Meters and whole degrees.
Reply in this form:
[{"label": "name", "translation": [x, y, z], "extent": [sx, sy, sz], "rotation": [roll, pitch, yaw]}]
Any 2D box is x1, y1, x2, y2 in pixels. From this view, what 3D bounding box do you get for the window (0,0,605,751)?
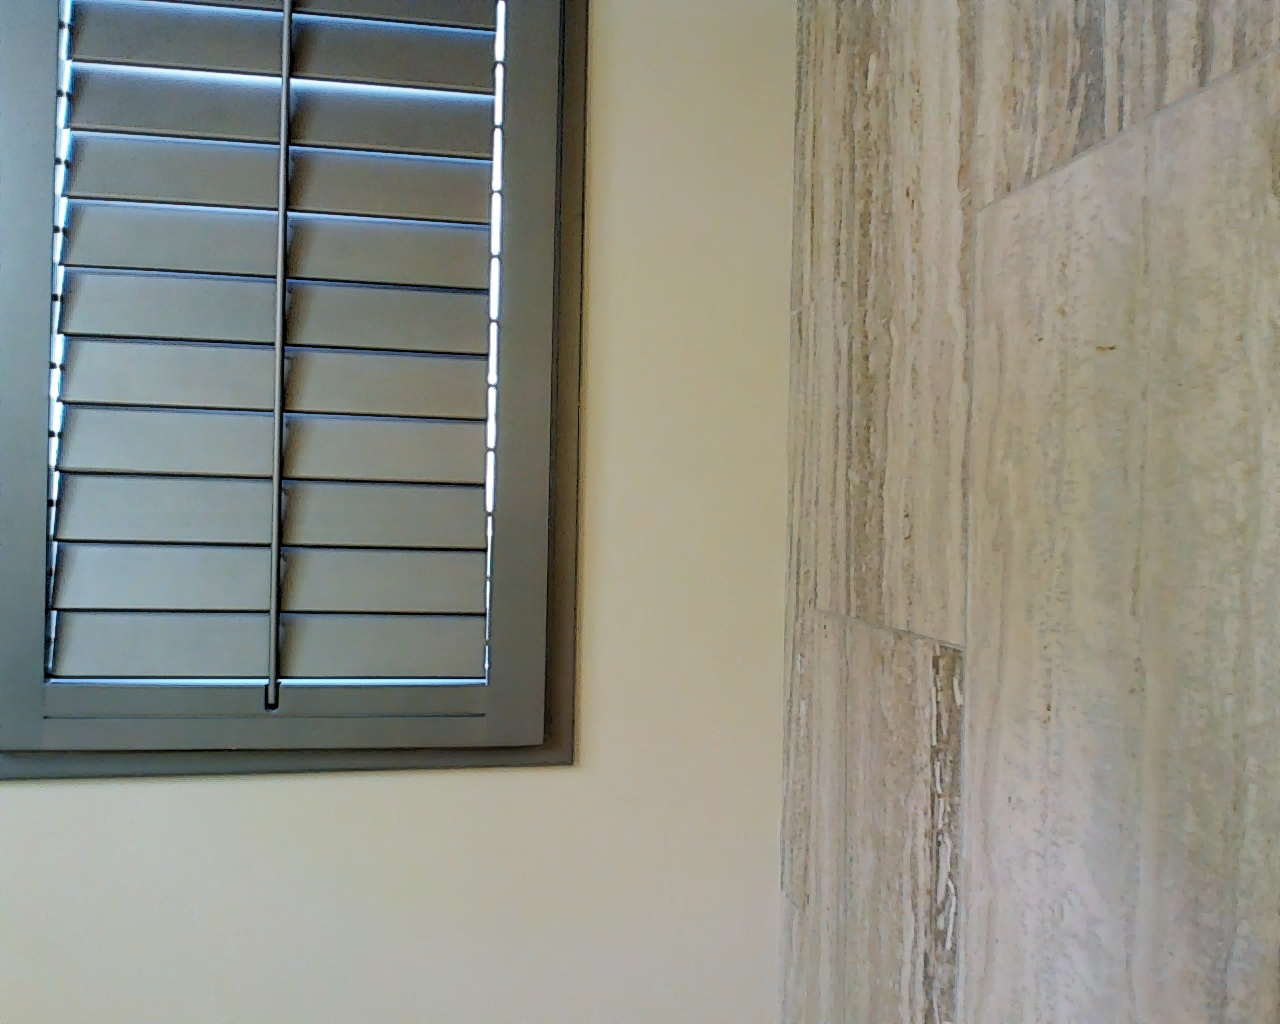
[{"label": "window", "translation": [-0.330, -0.300, 1.040], "extent": [0.580, 1.050, 0.040], "rotation": [2, 0, -10]}]
